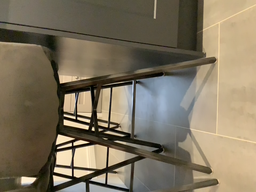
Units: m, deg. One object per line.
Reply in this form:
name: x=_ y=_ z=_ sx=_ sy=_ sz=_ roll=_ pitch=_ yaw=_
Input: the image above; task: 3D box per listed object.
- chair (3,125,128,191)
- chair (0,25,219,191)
chair: x=-0.510 y=0.500 z=1.860 sx=0.430 sy=0.920 sz=0.460 roll=169 pitch=103 yaw=-71
chair: x=-0.150 y=0.060 z=0.900 sx=0.430 sy=0.920 sz=0.490 roll=180 pitch=93 yaw=-71
